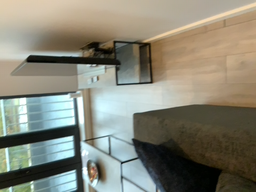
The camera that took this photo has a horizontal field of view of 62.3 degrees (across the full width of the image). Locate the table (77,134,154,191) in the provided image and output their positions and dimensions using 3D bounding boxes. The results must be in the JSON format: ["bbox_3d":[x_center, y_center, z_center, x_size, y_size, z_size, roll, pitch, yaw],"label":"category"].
[{"bbox_3d":[-0.210,0.860,2.580,1.060,0.440,0.540,3,97,57],"label":"table"}]

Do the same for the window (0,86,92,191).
[{"bbox_3d":[-1.610,1.330,3.270,0.190,2.170,2.940,2,92,56],"label":"window"}]

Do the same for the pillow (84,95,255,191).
[{"bbox_3d":[0.230,0.420,1.050,0.760,0.500,0.250,39,151,29],"label":"pillow"}]
